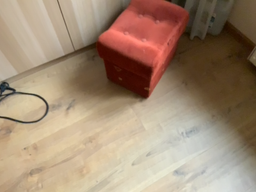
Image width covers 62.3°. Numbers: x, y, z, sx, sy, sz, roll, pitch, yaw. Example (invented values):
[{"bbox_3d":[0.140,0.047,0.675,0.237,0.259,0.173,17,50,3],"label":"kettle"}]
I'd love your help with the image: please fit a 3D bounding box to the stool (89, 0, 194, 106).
[{"bbox_3d":[0.090,-0.300,1.250,0.340,0.380,0.510,26,63,15],"label":"stool"}]
